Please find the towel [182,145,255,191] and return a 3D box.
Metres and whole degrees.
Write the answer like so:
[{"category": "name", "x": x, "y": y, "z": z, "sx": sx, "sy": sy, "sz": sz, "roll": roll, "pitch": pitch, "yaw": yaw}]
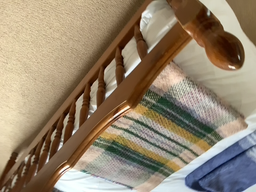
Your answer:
[{"category": "towel", "x": 0.420, "y": 0.360, "z": 0.940, "sx": 0.200, "sy": 0.080, "sz": 0.280, "roll": 32, "pitch": 119, "yaw": -26}]
